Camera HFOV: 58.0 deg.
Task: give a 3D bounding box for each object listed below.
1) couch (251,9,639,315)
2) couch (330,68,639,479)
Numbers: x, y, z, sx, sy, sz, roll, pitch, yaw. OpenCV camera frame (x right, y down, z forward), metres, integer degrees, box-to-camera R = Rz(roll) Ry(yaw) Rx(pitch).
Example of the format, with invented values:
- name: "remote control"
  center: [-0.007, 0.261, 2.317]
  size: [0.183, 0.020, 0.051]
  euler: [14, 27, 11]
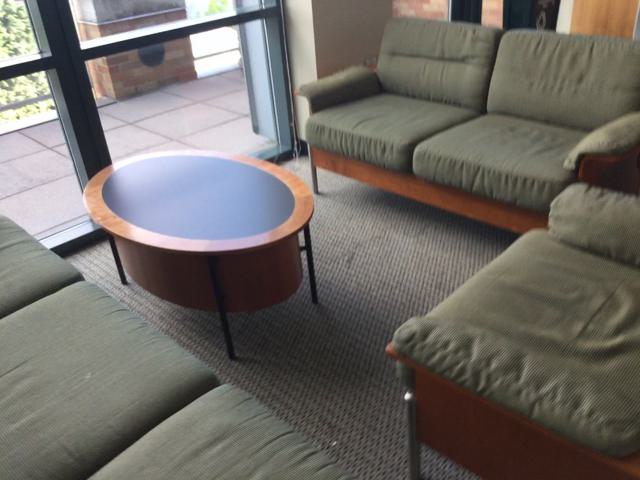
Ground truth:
- name: "couch"
  center: [0.610, -0.500, 2.560]
  size: [0.780, 0.750, 1.760]
  euler: [-33, 39, -32]
- name: "couch"
  center: [0.700, 0.180, 1.320]
  size: [1.050, 0.760, 0.740]
  euler: [-33, 39, -32]
